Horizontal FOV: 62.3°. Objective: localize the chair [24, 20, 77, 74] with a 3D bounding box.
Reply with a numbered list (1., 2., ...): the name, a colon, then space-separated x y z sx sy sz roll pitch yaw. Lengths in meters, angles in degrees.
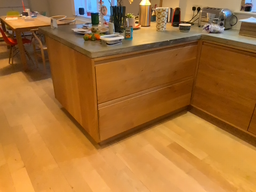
1. chair: -1.350 -0.890 3.730 0.620 0.750 0.600 -18 33 -33
